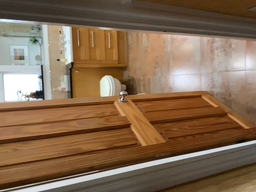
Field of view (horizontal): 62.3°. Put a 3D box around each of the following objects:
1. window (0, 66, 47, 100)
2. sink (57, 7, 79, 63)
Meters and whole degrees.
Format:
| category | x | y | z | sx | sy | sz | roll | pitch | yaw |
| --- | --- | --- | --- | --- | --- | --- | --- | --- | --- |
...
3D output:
| category | x | y | z | sx | sy | sz | roll | pitch | yaw |
| --- | --- | --- | --- | --- | --- | --- | --- | --- | --- |
| window | -1.830 | -0.190 | 3.170 | 0.210 | 1.130 | 0.490 | -2 | 91 | 64 |
| sink | -0.920 | -0.890 | 3.230 | 0.490 | 0.200 | 0.710 | 3 | 95 | 64 |
